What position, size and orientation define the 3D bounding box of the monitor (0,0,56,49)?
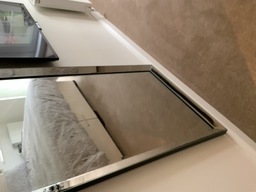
[{"bbox_3d":[-0.930,-0.540,1.480,0.820,0.580,0.050,48,132,38],"label":"monitor"}]
